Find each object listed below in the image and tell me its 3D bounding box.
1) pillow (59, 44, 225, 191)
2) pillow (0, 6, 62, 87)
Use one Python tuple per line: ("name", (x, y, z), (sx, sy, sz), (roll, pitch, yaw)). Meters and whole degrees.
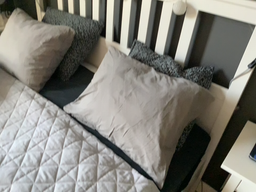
("pillow", (0.050, 0.060, 1.030), (0.570, 0.360, 0.460), (29, 40, 28))
("pillow", (-0.680, -0.330, 1.320), (0.540, 0.270, 0.230), (32, 42, 26))
